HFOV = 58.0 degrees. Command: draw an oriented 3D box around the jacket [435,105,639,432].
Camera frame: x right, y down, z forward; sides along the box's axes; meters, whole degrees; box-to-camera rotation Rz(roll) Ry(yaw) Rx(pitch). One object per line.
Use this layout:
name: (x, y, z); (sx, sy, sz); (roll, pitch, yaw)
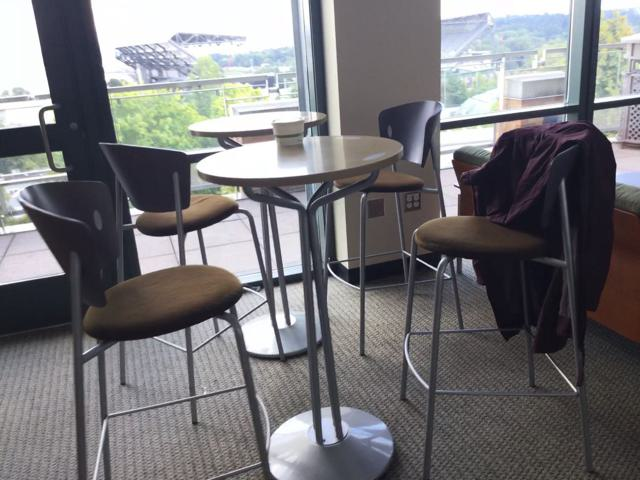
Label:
jacket: (0.740, 0.050, 1.940); (0.340, 0.890, 0.610); (-17, 21, -15)

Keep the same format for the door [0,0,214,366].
door: (-1.520, -0.560, 2.800); (1.280, 2.150, 0.400); (-22, 22, -13)
